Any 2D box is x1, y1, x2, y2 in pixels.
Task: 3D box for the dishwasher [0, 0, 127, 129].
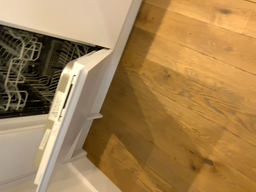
[{"bbox_3d":[-0.550,-0.200,1.130,0.580,0.890,0.440,32,109,28],"label":"dishwasher"}]
